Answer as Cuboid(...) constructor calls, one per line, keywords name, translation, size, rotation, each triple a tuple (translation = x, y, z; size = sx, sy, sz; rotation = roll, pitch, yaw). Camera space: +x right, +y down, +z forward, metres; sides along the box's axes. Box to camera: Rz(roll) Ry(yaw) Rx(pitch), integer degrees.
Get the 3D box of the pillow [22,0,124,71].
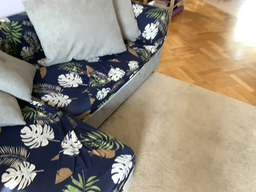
Cuboid(name="pillow", translation=(-0.460, -0.550, 1.780), size=(0.700, 0.520, 0.310), rotation=(-10, 48, -25))
